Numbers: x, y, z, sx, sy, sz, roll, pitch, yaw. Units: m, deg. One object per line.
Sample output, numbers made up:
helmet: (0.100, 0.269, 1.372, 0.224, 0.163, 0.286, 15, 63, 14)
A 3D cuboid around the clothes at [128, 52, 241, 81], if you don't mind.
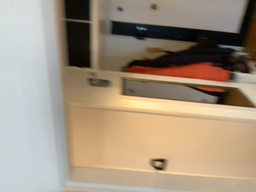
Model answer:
clothes: (0.600, -0.350, 2.740, 0.980, 1.170, 0.200, -106, 21, -85)
